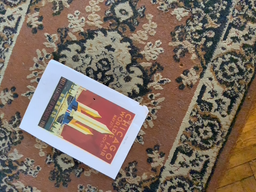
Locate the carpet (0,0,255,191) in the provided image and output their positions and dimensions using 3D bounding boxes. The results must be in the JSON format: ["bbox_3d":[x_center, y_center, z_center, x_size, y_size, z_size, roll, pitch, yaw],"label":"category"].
[{"bbox_3d":[-0.060,-0.010,0.570,0.800,0.060,1.120,25,93,4],"label":"carpet"}]
